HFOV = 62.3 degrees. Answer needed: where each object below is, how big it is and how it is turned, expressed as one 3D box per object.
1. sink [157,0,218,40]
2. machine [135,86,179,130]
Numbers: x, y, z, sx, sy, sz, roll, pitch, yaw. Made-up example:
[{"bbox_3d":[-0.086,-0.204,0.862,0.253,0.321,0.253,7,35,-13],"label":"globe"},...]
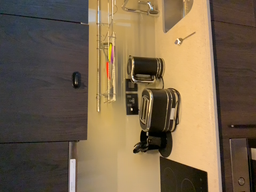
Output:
[{"bbox_3d":[0.370,-0.640,1.410,0.390,0.200,0.390,158,113,-71],"label":"sink"},{"bbox_3d":[0.180,0.070,1.370,0.220,0.190,0.250,-165,78,-72],"label":"machine"}]
